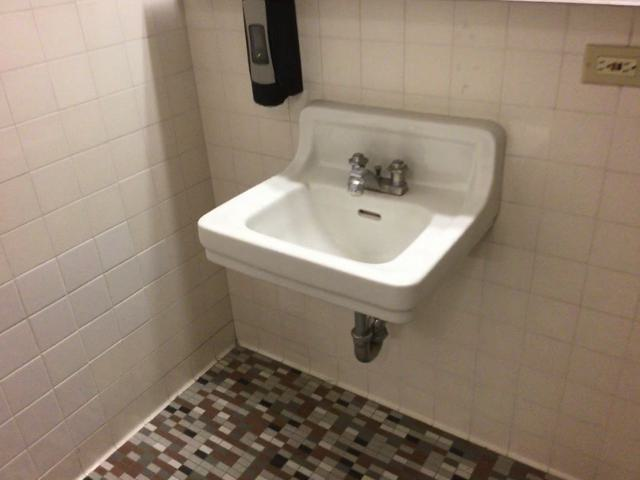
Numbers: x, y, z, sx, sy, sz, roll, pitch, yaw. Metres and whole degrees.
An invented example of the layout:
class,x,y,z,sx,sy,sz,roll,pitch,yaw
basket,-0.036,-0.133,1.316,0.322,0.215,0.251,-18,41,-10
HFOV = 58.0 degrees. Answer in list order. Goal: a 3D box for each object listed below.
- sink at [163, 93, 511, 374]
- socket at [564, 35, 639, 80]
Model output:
class,x,y,z,sx,sy,sz,roll,pitch,yaw
sink,0.050,-0.070,1.230,0.530,0.340,0.460,15,32,31
socket,0.510,-0.330,1.040,0.120,0.070,0.030,13,31,32
